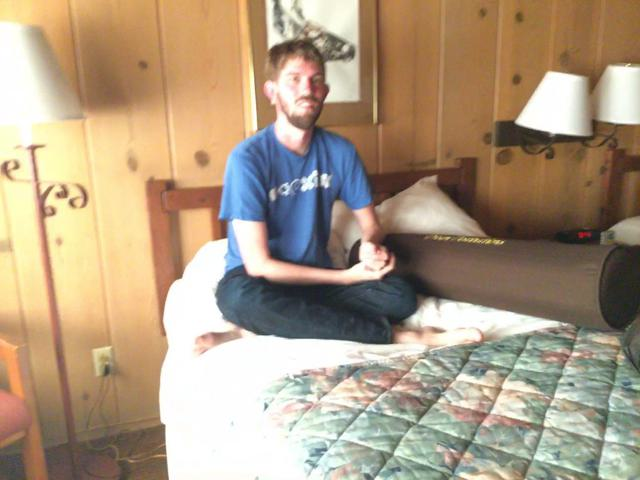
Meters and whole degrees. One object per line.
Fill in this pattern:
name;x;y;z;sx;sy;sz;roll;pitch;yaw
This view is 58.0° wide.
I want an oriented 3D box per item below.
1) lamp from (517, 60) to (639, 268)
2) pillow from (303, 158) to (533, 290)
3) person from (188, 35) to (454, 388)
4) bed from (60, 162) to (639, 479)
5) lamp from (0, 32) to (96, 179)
lamp;1.020;-0.310;2.300;0.290;0.750;0.340;-7;15;-13
pillow;0.340;-0.090;2.150;0.700;0.330;0.460;-7;15;-13
person;-0.040;-0.140;1.700;0.580;0.790;0.720;-7;15;-13
bed;0.330;0.380;1.510;1.490;0.850;1.890;-6;15;-12
lamp;-0.840;-0.380;1.650;0.300;0.370;0.260;-7;15;-13
